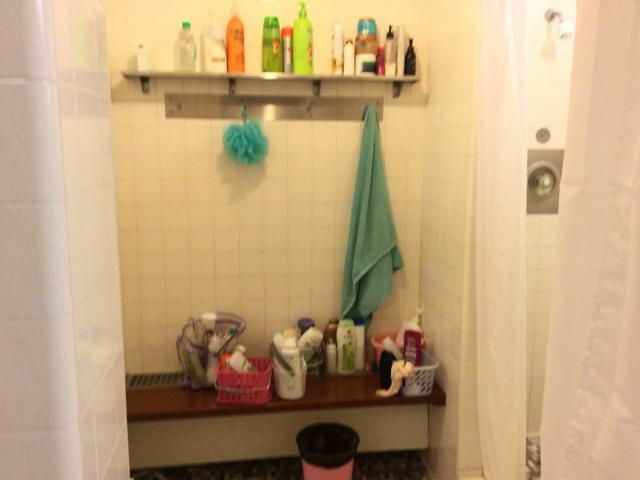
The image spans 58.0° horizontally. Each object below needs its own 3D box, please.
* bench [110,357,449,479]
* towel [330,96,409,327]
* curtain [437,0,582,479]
[{"bbox_3d":[-0.160,0.810,2.470,1.310,0.450,0.420,0,8,-7],"label":"bench"},{"bbox_3d":[0.210,-0.120,2.540,0.300,0.980,0.150,0,8,-7],"label":"towel"},{"bbox_3d":[0.650,0.150,2.080,0.310,1.940,0.290,0,8,-8],"label":"curtain"}]
